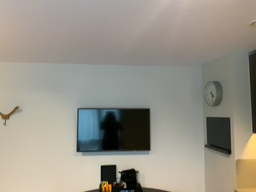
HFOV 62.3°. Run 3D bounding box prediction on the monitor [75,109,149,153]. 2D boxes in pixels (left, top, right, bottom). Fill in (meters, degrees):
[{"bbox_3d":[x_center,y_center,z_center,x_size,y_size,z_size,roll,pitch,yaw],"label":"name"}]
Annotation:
[{"bbox_3d":[-0.190,0.440,2.670,0.920,0.530,0.050,2,-5,-6],"label":"monitor"}]
